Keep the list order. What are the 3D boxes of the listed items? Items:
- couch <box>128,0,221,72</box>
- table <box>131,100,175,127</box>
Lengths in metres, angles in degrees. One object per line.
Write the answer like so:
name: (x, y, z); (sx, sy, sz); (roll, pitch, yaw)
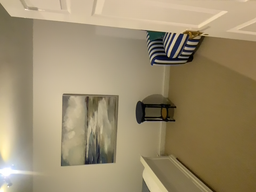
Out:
couch: (0.550, -1.040, 3.050); (0.910, 0.830, 0.950); (110, 157, -50)
table: (0.420, 0.300, 3.720); (0.400, 0.640, 0.390); (-155, 68, -75)
